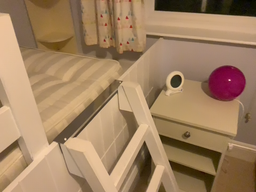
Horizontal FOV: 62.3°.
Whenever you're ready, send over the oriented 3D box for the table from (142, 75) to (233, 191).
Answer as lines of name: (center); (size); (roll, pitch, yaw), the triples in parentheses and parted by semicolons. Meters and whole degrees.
table: (0.380, 0.290, 1.430); (0.450, 0.680, 0.420); (12, 36, 20)
